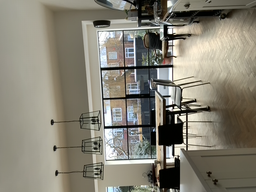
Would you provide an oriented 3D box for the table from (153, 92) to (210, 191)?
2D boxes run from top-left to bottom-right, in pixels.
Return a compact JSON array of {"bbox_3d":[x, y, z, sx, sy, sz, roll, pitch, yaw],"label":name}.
[{"bbox_3d":[0.950,0.940,4.090,0.970,0.790,1.830,-95,2,-77],"label":"table"}]
